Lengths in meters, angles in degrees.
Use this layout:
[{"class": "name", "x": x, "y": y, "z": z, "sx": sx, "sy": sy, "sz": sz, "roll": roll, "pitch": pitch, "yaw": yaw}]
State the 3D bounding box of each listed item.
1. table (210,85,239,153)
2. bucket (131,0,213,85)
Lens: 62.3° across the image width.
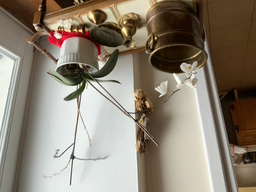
[{"class": "table", "x": 1.360, "y": 0.330, "z": 3.020, "sx": 0.210, "sy": 0.880, "sz": 0.330, "roll": -10, "pitch": 157, "yaw": 20}, {"class": "bucket", "x": 0.180, "y": -0.200, "z": 0.840, "sx": 0.260, "sy": 0.190, "sz": 0.250, "roll": -9, "pitch": 157, "yaw": 18}]
